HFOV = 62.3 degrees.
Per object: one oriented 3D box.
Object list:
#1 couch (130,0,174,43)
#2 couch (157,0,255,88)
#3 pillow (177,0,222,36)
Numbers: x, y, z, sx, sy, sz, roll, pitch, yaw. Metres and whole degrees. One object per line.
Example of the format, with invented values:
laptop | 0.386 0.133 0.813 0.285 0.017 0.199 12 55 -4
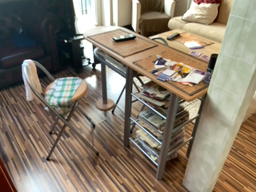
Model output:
couch | 0.400 -1.410 3.880 0.600 0.630 0.680 -4 36 -8
couch | 1.540 -0.990 3.100 1.020 0.920 1.950 -25 43 -32
pillow | 1.110 -1.260 3.320 0.500 0.390 0.240 35 49 16
